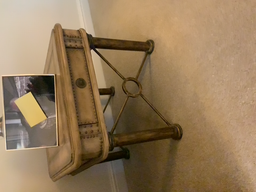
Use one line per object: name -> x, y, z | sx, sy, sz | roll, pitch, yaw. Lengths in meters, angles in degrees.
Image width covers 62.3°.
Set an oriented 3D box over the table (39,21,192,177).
table -> -0.160, 0.070, 1.180 | 0.700, 0.520, 0.540 | -45, 54, 54
